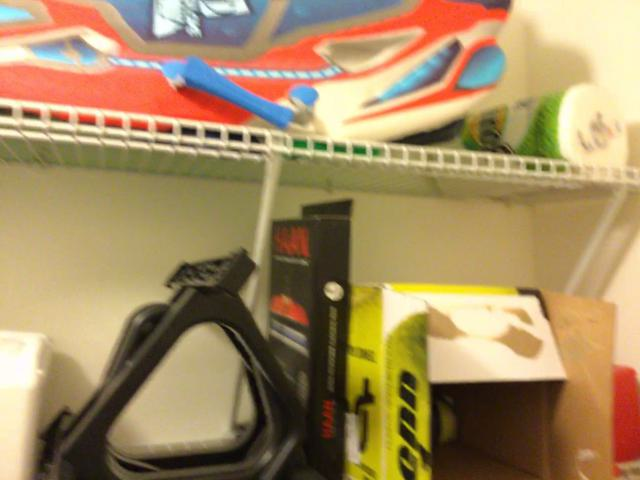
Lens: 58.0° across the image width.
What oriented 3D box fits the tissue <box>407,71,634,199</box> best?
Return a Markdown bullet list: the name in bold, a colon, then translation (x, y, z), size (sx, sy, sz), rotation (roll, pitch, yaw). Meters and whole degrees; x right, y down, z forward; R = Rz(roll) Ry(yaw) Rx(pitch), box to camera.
- **tissue**: translation (0.300, -0.150, 0.930), size (0.150, 0.110, 0.330), rotation (3, -6, -27)
